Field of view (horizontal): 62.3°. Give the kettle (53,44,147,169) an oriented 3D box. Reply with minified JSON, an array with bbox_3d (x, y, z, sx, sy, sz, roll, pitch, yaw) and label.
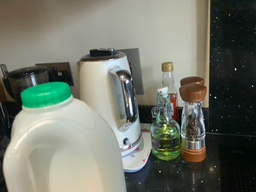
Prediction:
[{"bbox_3d":[-0.050,0.010,0.570,0.130,0.260,0.220,1,20,21],"label":"kettle"}]
